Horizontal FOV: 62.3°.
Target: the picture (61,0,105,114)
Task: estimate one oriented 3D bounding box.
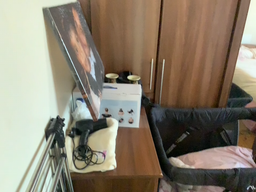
[{"bbox_3d":[-0.230,-0.270,1.170,0.050,0.480,0.580,16,33,-12],"label":"picture"}]
